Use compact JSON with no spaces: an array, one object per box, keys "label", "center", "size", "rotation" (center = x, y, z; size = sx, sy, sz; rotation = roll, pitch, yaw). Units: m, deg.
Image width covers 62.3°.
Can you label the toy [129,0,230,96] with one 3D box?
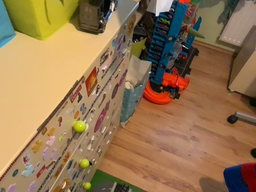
[{"label":"toy","center":[0.410,-0.570,1.640],"size":[0.460,0.690,0.780],"rotation":[22,52,9]}]
